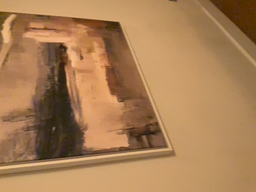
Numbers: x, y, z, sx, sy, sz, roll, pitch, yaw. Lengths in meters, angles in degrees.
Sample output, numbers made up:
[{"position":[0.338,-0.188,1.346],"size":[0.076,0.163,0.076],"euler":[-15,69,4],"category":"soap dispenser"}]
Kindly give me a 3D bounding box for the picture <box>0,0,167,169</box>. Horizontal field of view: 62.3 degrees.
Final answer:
[{"position":[-0.390,-0.160,1.000],"size":[0.080,0.890,0.980],"euler":[110,153,-45],"category":"picture"}]
